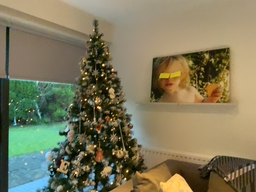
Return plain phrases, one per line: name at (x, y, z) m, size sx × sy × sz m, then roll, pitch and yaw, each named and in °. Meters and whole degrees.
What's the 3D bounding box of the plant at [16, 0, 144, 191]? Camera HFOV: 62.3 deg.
plant at (-0.480, 0.270, 2.280) m, size 0.900 × 2.010 × 0.980 m, roll 0°, pitch -1°, yaw 38°
